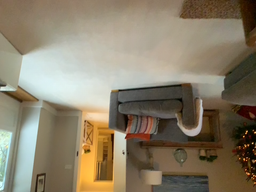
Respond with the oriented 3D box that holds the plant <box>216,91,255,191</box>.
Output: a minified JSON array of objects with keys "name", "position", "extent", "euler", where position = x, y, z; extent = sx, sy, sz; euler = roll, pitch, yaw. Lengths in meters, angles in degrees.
[{"name":"plant","position":[2.390,1.020,3.810],"extent":[0.890,1.930,1.200],"euler":[2,164,-4]}]
